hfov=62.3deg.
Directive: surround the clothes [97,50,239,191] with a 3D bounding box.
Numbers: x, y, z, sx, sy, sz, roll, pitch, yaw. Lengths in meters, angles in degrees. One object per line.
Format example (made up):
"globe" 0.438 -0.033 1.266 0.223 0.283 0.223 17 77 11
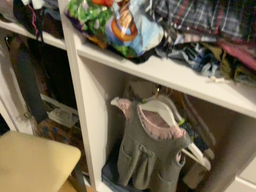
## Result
"clothes" 0.130 0.250 1.020 0.430 0.790 0.300 20 46 15
